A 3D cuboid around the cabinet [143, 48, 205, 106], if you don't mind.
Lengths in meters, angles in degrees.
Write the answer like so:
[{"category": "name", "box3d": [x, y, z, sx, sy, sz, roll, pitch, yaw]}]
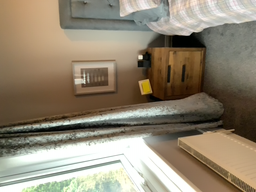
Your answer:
[{"category": "cabinet", "box3d": [0.470, -0.240, 2.300, 0.460, 0.460, 0.550, -151, 58, -65]}]
